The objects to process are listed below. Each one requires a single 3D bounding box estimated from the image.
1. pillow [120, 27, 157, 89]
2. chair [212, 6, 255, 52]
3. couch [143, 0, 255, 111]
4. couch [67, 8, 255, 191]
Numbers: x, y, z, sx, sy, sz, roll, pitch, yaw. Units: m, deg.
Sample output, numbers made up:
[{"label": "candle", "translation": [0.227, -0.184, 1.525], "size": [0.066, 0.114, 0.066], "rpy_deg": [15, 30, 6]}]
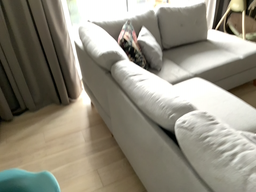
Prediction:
[{"label": "pillow", "translation": [0.070, -0.350, 1.870], "size": [0.170, 0.370, 0.440], "rpy_deg": [16, 30, -12]}, {"label": "chair", "translation": [1.560, -0.920, 2.850], "size": [0.540, 0.380, 0.530], "rpy_deg": [-16, 36, -17]}, {"label": "couch", "translation": [0.850, -0.570, 2.440], "size": [0.980, 0.840, 0.950], "rpy_deg": [-18, 37, -19]}, {"label": "couch", "translation": [0.370, 0.100, 1.500], "size": [0.890, 0.840, 2.470], "rpy_deg": [-18, 36, -19]}]
